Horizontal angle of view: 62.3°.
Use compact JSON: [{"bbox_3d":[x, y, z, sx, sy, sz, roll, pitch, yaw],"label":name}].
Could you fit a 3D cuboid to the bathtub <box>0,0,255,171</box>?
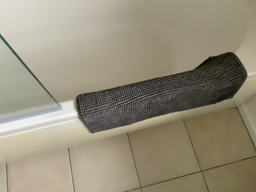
[{"bbox_3d":[-0.280,-0.130,1.030,1.700,0.540,0.700,-13,70,-7],"label":"bathtub"}]
